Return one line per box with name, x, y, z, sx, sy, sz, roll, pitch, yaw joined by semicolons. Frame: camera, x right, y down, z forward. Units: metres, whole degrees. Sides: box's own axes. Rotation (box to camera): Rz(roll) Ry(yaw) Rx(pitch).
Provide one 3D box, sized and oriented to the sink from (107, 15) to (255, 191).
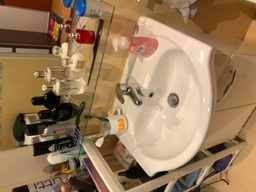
sink;0.150;0.040;0.850;0.430;0.140;0.570;44;126;40
